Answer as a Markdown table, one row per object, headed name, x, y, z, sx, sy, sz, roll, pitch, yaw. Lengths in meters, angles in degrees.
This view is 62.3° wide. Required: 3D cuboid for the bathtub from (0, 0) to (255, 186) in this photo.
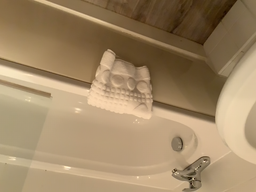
| name | x | y | z | sx | sy | sz | roll | pitch | yaw |
| --- | --- | --- | --- | --- | --- | --- | --- | --- | --- |
| bathtub | -0.370 | -0.060 | 1.070 | 1.650 | 0.570 | 0.710 | 15 | 136 | -17 |
